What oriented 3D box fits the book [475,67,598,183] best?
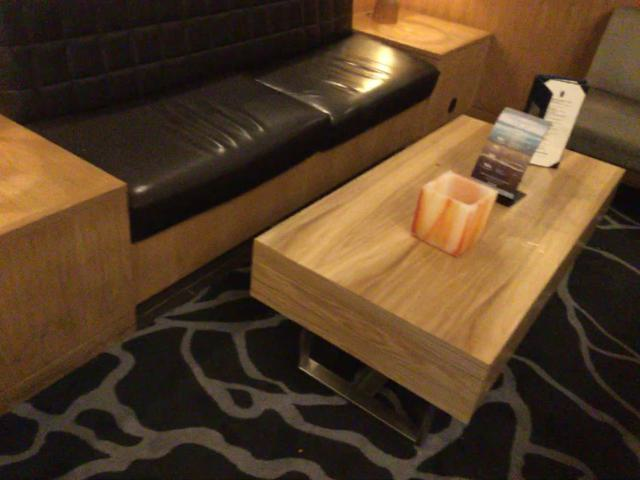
[{"bbox_3d":[0.660,-0.360,1.790,0.240,0.280,0.190,-11,35,-19],"label":"book"}]

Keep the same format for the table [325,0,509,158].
[{"bbox_3d":[0.510,-0.910,3.120,0.670,0.570,0.700,23,39,30],"label":"table"}]

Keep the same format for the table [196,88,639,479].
[{"bbox_3d":[0.420,0.010,1.750,0.770,0.460,1.350,23,39,30],"label":"table"}]
